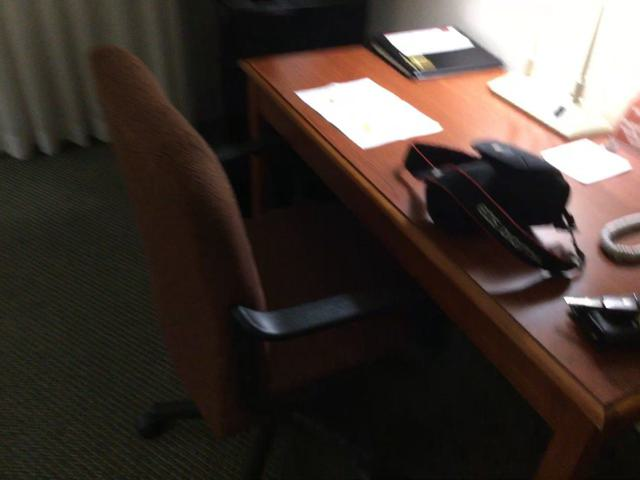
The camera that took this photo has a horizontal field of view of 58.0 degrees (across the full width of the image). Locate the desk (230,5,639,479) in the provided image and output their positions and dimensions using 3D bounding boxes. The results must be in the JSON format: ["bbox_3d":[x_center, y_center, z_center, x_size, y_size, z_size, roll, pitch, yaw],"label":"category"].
[{"bbox_3d":[0.330,0.070,1.400,0.680,0.850,1.250,-14,41,-25],"label":"desk"}]

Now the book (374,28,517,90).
[{"bbox_3d":[0.330,-0.490,1.540,0.290,0.060,0.230,-14,41,-25],"label":"book"}]
